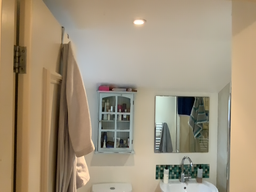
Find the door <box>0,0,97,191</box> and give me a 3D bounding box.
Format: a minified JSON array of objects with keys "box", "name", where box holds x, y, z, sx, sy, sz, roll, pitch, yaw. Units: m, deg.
[{"box":[-0.330,0.610,1.070,0.120,2.250,1.190,2,1,-1],"name":"door"}]
